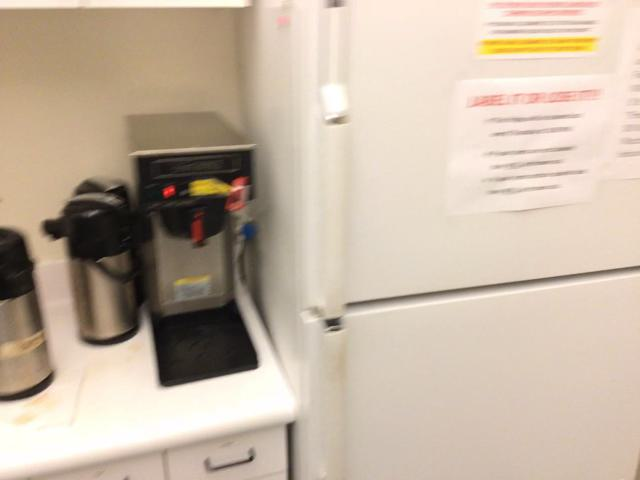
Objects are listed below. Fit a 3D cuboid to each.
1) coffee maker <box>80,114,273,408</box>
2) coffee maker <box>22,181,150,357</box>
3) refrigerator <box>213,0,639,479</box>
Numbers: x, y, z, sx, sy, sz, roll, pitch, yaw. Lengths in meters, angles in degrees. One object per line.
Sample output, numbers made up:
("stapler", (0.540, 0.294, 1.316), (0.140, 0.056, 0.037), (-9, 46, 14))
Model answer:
("coffee maker", (-0.300, 0.010, 1.260), (0.290, 0.480, 0.420), (-8, 22, -14))
("coffee maker", (-0.510, 0.060, 1.310), (0.200, 0.340, 0.150), (-8, 22, -14))
("refrigerator", (0.290, 0.230, 1.420), (0.850, 1.630, 0.870), (-8, 22, -14))
